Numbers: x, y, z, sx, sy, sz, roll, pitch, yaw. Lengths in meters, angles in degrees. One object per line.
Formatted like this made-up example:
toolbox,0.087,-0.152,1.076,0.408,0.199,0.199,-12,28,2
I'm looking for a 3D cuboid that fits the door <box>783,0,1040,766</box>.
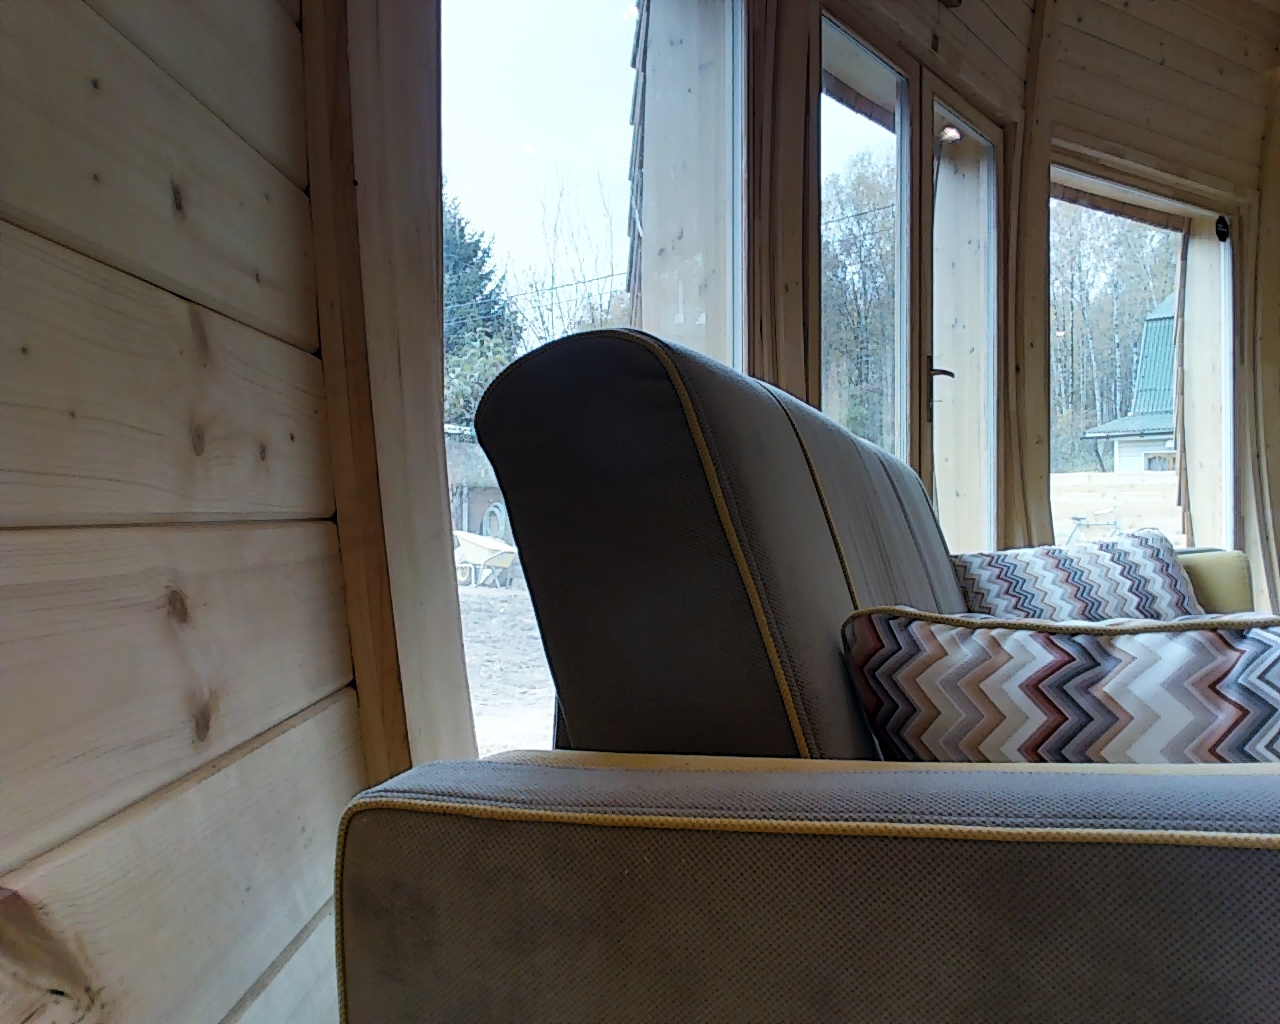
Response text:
door,0.930,-0.380,3.420,0.180,2.061,1.550,-1,0,37
